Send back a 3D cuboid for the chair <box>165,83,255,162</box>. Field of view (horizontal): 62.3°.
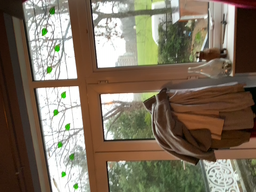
[{"bbox_3d":[0.960,0.170,1.660,0.450,1.270,0.450,-81,-12,-76],"label":"chair"}]
